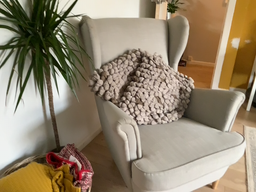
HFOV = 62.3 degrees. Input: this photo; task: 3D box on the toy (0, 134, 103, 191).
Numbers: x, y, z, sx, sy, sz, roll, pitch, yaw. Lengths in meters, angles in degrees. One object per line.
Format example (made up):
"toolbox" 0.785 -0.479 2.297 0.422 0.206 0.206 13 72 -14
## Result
"toy" -0.390 0.500 1.020 0.420 0.420 0.350 11 27 19
